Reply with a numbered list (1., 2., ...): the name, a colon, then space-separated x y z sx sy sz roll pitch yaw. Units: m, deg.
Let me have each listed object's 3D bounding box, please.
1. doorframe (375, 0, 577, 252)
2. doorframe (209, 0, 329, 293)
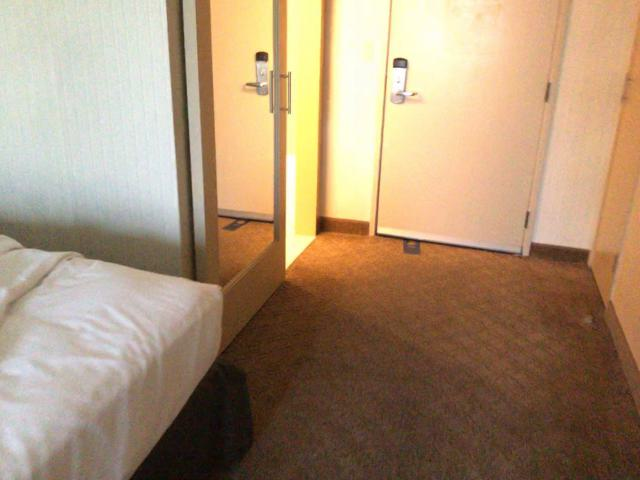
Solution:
1. doorframe: 0.850 -1.150 3.180 1.000 2.450 0.060 6 20 16
2. doorframe: -0.220 -1.150 3.040 0.240 2.630 1.070 6 20 16
